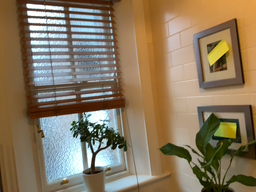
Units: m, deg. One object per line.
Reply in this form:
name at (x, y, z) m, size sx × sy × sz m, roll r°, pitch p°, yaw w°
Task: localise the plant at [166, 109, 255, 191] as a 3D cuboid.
plant at (0.460, 0.320, 1.060) m, size 0.250 × 0.470 × 0.460 m, roll -7°, pitch 1°, yaw -29°
